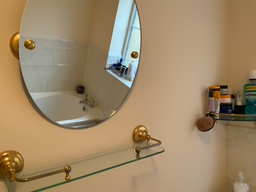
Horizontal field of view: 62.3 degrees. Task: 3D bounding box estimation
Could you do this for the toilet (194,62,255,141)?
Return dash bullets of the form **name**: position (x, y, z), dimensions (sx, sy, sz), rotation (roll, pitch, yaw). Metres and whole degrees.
- **toilet**: position (0.540, 0.010, 1.080), dimensions (0.310, 0.330, 0.250), rotation (-4, 6, -38)
